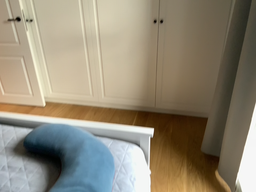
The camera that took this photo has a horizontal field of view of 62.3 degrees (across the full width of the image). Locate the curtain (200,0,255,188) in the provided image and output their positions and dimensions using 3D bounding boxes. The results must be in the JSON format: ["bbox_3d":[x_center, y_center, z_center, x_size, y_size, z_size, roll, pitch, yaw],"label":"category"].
[{"bbox_3d":[0.810,-0.620,1.550,0.140,2.680,0.900,6,29,12],"label":"curtain"}]
